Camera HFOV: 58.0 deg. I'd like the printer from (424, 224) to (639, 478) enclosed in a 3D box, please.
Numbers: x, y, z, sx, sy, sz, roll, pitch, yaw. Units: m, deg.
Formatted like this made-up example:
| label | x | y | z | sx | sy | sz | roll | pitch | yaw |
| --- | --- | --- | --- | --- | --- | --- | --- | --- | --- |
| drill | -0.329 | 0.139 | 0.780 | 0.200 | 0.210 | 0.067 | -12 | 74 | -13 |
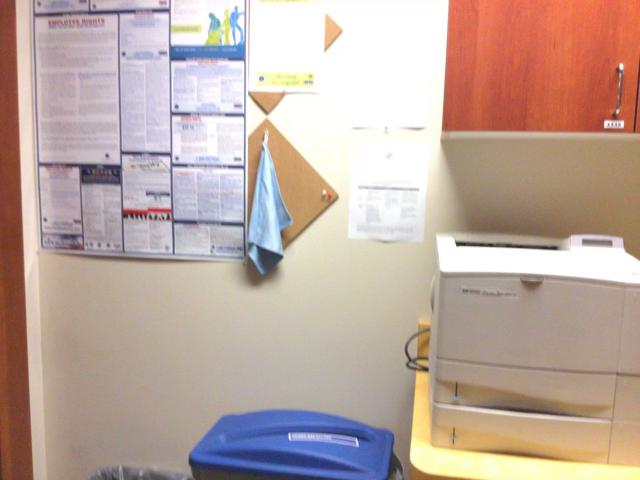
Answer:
| label | x | y | z | sx | sy | sz | roll | pitch | yaw |
| --- | --- | --- | --- | --- | --- | --- | --- | --- | --- |
| printer | 0.440 | 0.190 | 1.230 | 0.400 | 0.400 | 0.410 | 3 | 6 | 11 |
